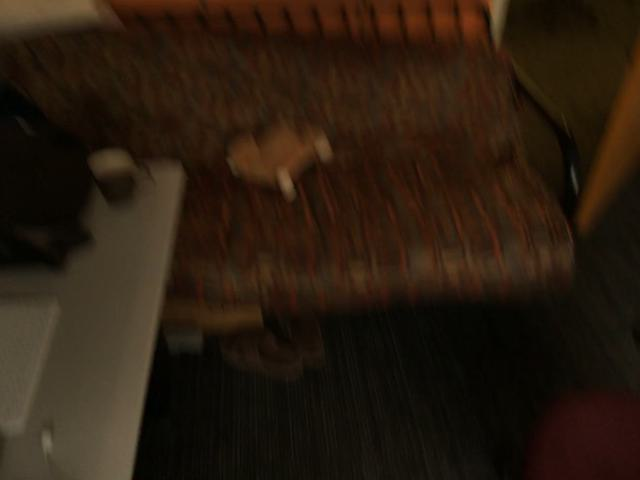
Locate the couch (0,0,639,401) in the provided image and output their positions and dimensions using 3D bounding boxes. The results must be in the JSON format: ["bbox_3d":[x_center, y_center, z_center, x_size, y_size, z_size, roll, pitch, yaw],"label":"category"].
[{"bbox_3d":[-0.200,-0.260,1.980,2.000,0.830,1.130,-5,40,-3],"label":"couch"}]

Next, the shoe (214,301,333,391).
[{"bbox_3d":[-0.150,0.330,1.840,0.350,0.070,0.270,-5,40,-3],"label":"shoe"}]
